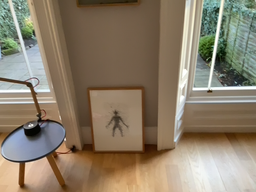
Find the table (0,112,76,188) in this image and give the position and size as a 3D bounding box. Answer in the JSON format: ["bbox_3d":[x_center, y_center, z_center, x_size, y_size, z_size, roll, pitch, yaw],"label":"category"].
[{"bbox_3d":[-0.740,0.450,1.850,0.440,0.410,0.450,-5,30,-3],"label":"table"}]
